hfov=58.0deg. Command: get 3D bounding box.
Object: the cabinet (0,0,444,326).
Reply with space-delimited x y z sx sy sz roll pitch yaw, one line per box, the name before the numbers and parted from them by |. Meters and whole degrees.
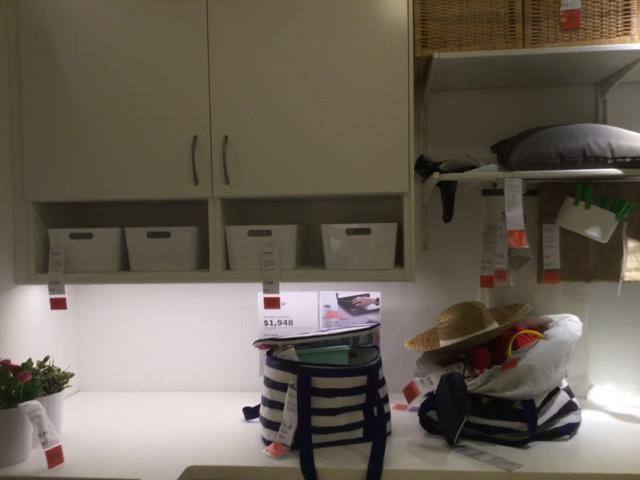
cabinet | -0.330 -0.340 1.930 1.250 0.970 0.440 -12 -1 7
